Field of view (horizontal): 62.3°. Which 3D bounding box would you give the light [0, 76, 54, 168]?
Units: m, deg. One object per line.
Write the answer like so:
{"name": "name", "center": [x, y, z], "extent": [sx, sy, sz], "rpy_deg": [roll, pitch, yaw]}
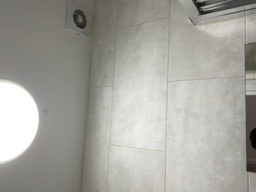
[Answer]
{"name": "light", "center": [-0.440, 0.090, 0.730], "extent": [0.320, 0.090, 0.290], "rpy_deg": [23, 70, -55]}
